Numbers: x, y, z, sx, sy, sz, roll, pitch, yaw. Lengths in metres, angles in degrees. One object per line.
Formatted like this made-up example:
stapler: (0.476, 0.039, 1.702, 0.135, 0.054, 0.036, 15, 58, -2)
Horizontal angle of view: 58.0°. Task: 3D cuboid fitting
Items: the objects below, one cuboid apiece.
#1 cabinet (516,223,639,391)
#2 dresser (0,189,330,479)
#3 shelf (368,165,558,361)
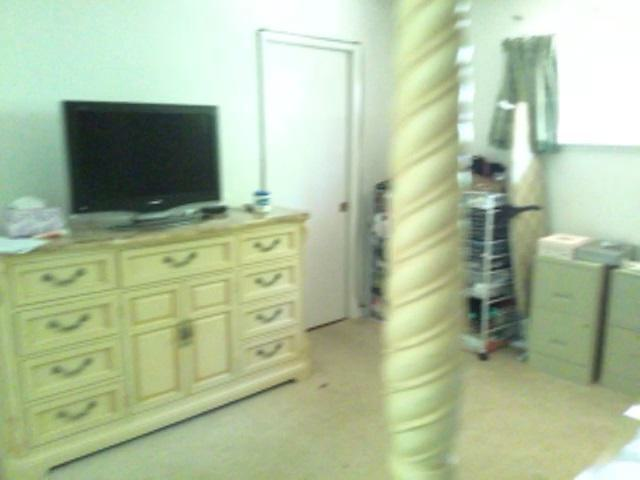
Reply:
cabinet: (1.470, 0.350, 3.310, 0.480, 0.810, 0.430, -8, 12, -34)
dresser: (-0.870, 0.360, 2.970, 1.770, 1.070, 0.720, -9, 13, -38)
shelf: (0.920, 0.070, 3.970, 0.590, 1.100, 1.130, -8, 12, -34)
